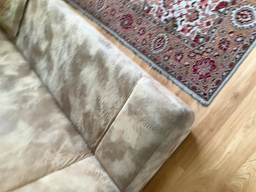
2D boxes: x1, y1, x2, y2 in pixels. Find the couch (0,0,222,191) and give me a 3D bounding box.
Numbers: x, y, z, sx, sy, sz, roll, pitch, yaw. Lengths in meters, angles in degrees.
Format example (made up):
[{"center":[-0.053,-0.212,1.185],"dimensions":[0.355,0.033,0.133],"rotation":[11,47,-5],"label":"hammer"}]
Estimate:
[{"center":[-0.640,-0.210,1.460],"dimensions":[2.080,0.860,0.960],"rotation":[43,110,30],"label":"couch"}]
